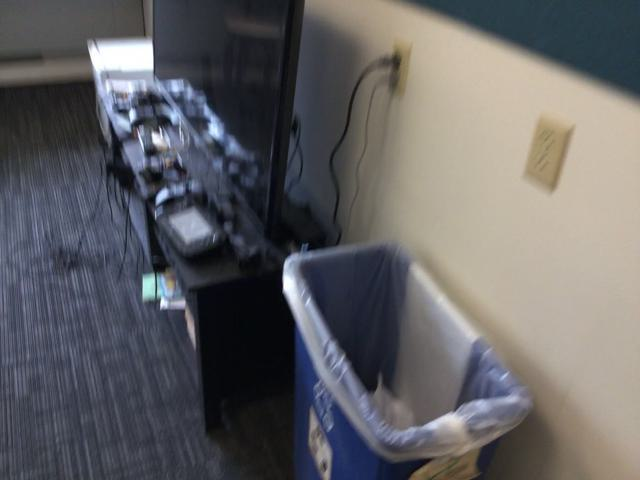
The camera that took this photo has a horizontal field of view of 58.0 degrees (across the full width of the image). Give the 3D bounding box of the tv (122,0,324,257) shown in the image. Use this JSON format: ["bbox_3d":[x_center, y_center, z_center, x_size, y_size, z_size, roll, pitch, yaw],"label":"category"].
[{"bbox_3d":[-0.360,-0.600,1.680,0.170,0.780,1.210,-13,35,-25],"label":"tv"}]
